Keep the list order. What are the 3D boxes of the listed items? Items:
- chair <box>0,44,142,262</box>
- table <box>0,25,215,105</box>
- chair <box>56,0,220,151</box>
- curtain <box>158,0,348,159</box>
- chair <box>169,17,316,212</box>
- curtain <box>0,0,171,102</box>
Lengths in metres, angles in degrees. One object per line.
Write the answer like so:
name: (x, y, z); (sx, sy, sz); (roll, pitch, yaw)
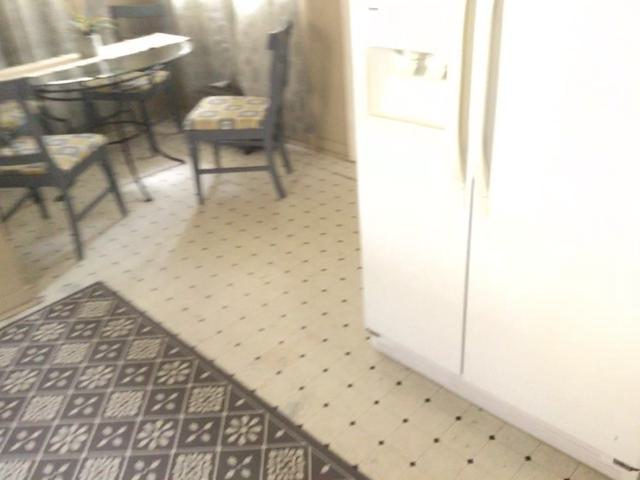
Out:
chair: (-1.270, -0.410, 2.660); (0.530, 0.820, 0.600); (1, 30, 7)
table: (-1.160, -0.980, 3.140); (1.100, 0.160, 0.420); (-27, 37, -35)
chair: (-1.150, -1.130, 3.860); (0.650, 0.850, 0.720); (3, 30, 10)
curtain: (-0.500, -1.690, 3.410); (0.330, 2.110, 1.460); (-27, 37, -35)
chair: (-0.350, -0.670, 3.050); (0.590, 0.840, 0.610); (-1, 30, 3)
curtain: (-1.640, -1.920, 3.370); (1.200, 1.950, 0.280); (-27, 37, -35)
